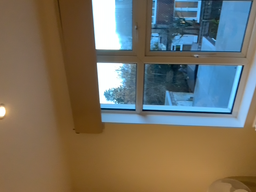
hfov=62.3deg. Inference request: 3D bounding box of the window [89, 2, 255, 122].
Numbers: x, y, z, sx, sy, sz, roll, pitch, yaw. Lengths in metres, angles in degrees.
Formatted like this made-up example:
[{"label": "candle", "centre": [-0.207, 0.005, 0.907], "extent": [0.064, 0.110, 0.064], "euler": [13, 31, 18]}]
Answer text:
[{"label": "window", "centre": [0.370, -0.280, 2.020], "extent": [0.090, 1.410, 1.100], "euler": [-82, -7, -64]}]
